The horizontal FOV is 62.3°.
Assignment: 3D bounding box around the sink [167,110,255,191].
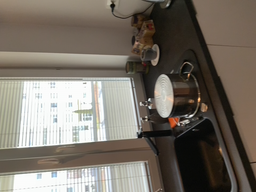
[{"bbox_3d":[0.450,0.340,1.180,0.430,0.230,0.380,118,148,-59],"label":"sink"}]
